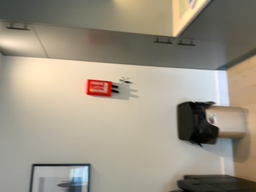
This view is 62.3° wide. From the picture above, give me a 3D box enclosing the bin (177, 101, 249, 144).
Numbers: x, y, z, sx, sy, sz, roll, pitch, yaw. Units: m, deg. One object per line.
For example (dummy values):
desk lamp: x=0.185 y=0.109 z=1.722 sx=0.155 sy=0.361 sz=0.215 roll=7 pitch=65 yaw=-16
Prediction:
bin: x=0.860 y=0.280 z=2.190 sx=0.300 sy=0.610 sz=0.400 roll=137 pitch=135 yaw=-76
